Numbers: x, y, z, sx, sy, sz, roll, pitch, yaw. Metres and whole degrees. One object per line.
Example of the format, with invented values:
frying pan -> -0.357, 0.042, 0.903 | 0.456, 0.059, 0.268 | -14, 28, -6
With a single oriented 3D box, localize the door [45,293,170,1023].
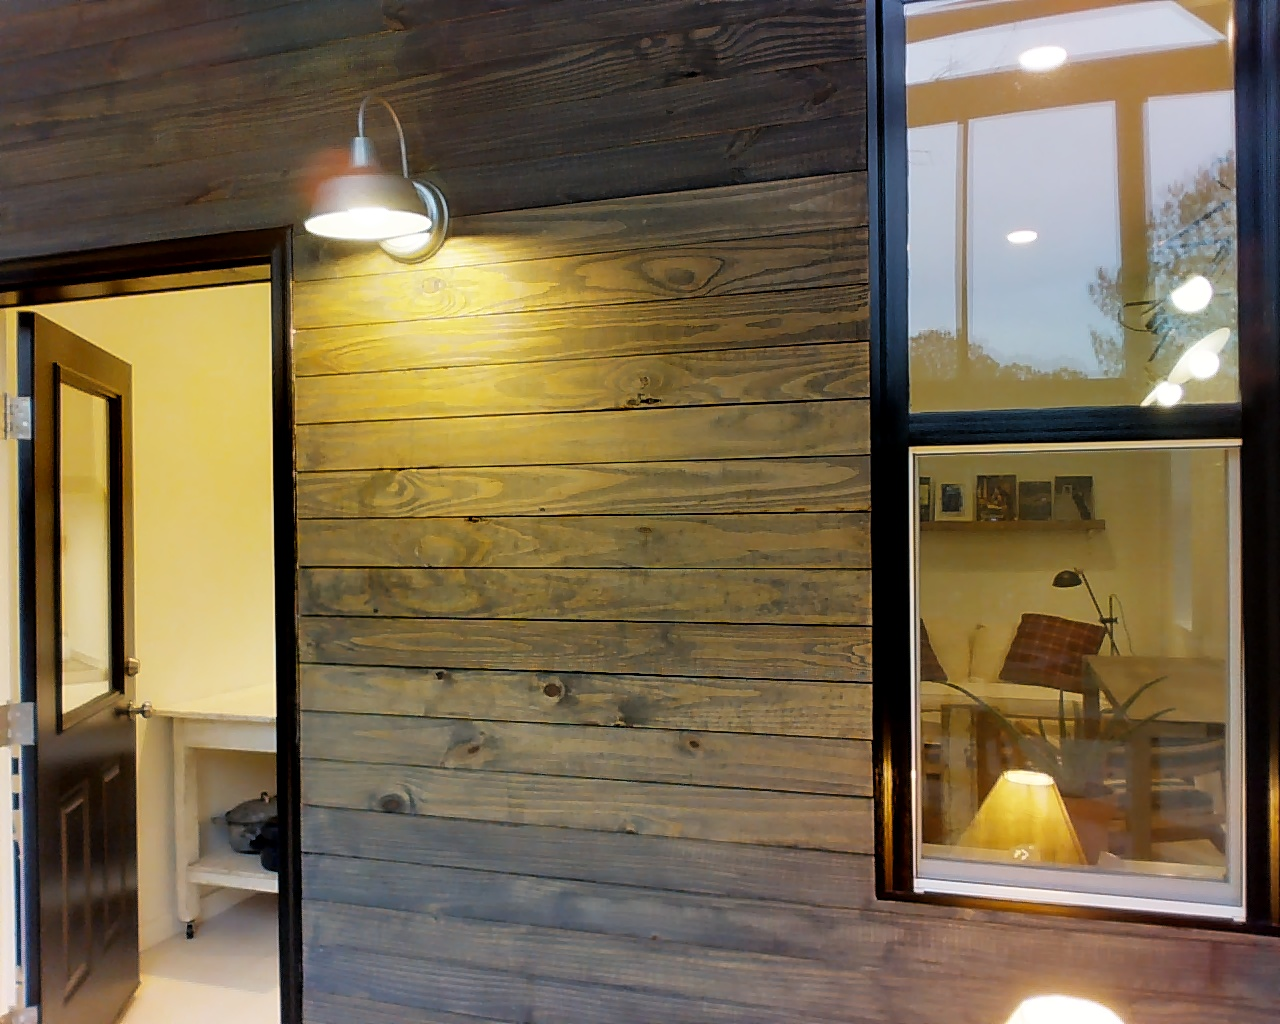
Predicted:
door -> -1.530, 0.500, 3.150 | 0.080, 2.080, 1.000 | -1, 0, -13
